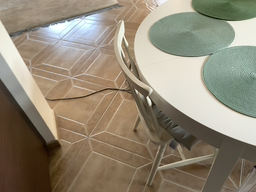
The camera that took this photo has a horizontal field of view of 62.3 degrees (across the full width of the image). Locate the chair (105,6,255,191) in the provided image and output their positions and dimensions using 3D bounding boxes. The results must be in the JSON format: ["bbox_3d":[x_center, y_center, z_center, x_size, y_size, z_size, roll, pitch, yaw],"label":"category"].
[{"bbox_3d":[0.220,0.070,1.110,0.450,0.810,0.460,-17,48,-9],"label":"chair"}]
